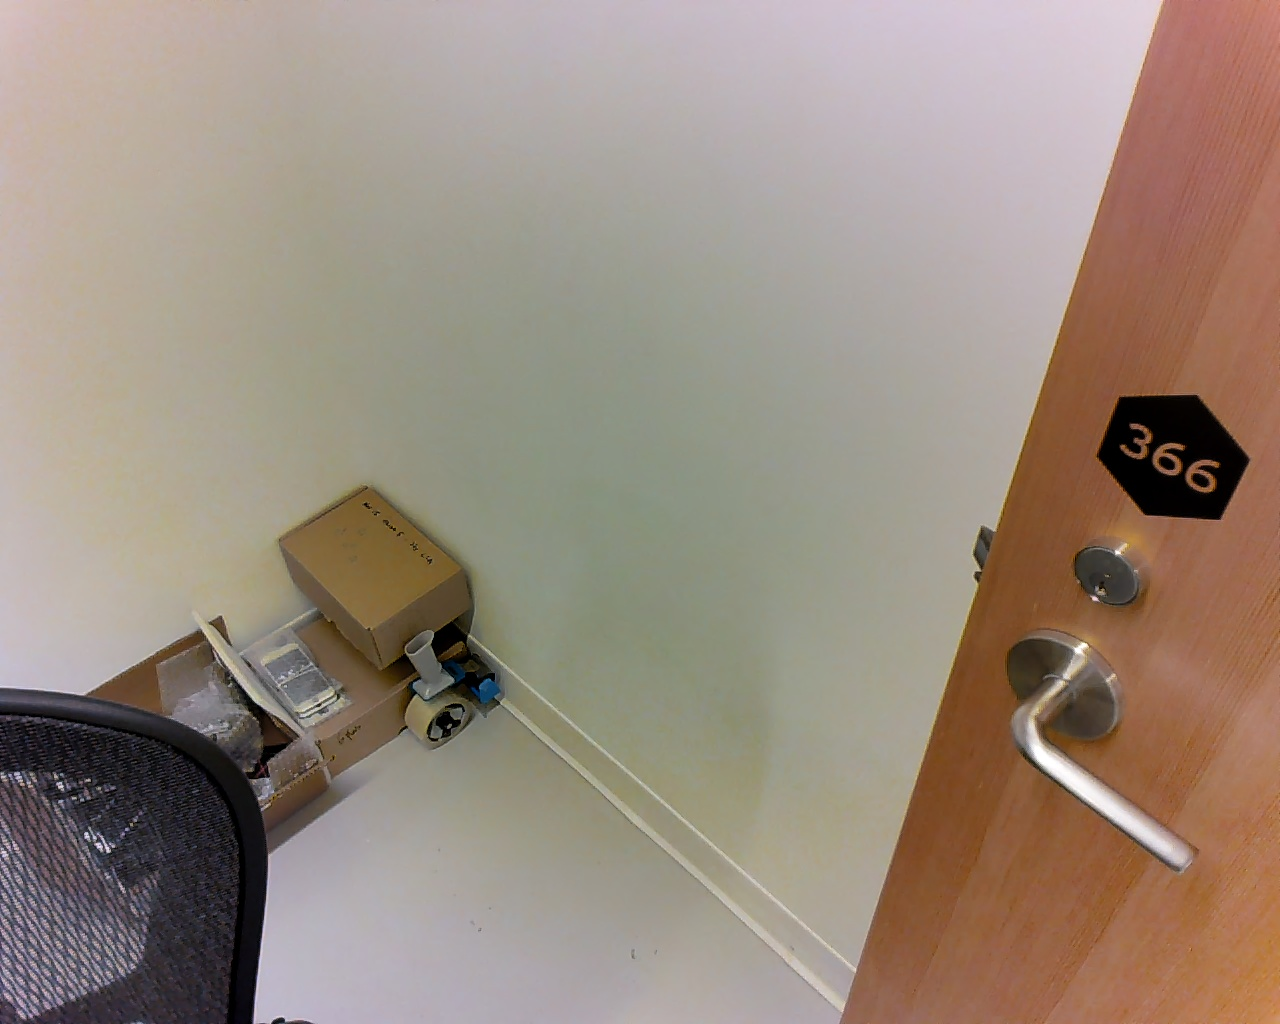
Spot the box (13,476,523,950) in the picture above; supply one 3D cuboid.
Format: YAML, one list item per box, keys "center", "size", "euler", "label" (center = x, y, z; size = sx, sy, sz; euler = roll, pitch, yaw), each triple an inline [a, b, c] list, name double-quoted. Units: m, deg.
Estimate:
- center: [-0.530, 0.280, 1.650]
  size: [0.610, 0.320, 0.320]
  euler: [-34, 52, -31]
  label: "box"
